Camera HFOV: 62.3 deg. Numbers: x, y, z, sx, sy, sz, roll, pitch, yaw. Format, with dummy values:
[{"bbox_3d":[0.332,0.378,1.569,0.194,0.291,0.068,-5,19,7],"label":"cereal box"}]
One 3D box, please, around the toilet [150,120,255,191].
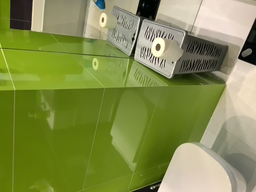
[{"bbox_3d":[0.490,0.500,1.230,0.400,0.480,0.540,42,126,44],"label":"toilet"}]
